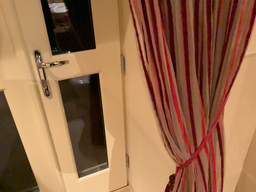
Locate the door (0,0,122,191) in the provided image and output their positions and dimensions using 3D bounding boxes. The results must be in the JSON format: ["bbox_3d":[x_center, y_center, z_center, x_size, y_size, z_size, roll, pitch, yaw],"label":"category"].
[{"bbox_3d":[-0.420,-0.040,0.930,0.740,1.890,0.030,-14,32,-19],"label":"door"}]
